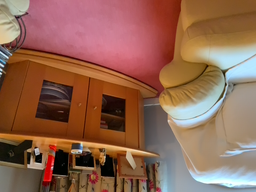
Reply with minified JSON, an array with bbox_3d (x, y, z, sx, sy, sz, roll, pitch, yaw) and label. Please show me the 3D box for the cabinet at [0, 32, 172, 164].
[{"bbox_3d":[-0.440,0.140,1.840,1.460,0.660,0.680,14,150,-25],"label":"cabinet"}]
